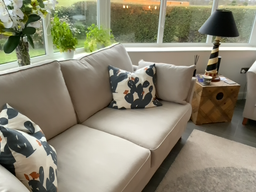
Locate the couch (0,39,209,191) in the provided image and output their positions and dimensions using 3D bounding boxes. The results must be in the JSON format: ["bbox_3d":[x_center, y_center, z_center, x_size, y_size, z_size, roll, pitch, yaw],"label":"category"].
[{"bbox_3d":[-0.280,0.210,1.640,1.060,0.900,2.050,18,28,29],"label":"couch"}]

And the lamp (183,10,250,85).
[{"bbox_3d":[1.010,-0.580,2.530,0.440,0.790,0.400,-2,25,-13],"label":"lamp"}]
